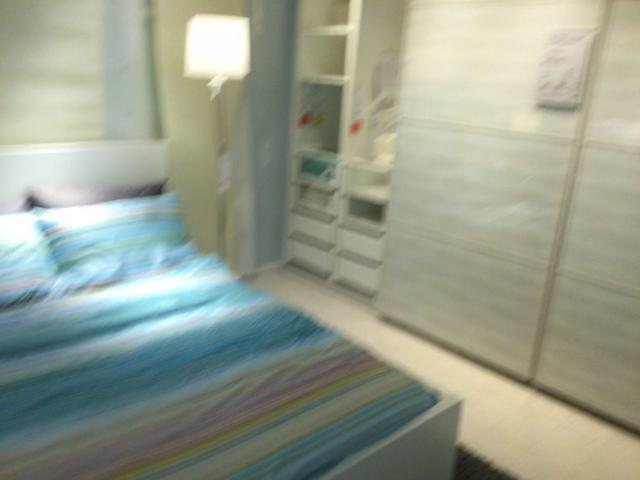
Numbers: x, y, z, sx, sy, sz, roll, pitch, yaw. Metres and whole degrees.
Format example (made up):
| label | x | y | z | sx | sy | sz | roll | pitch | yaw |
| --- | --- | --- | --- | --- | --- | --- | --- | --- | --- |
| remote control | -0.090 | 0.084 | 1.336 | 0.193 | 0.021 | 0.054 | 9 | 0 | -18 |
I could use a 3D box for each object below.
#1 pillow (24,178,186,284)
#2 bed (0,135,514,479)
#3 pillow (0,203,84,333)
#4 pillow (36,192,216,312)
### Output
| label | x | y | z | sx | sy | sz | roll | pitch | yaw |
| --- | --- | --- | --- | --- | --- | --- | --- | --- | --- |
| pillow | -1.060 | -0.070 | 2.920 | 0.700 | 0.400 | 0.250 | -11 | 20 | -38 |
| bed | -0.810 | 0.280 | 2.140 | 1.720 | 1.050 | 2.210 | -11 | 20 | -38 |
| pillow | -1.380 | 0.140 | 2.360 | 0.650 | 0.470 | 0.220 | -11 | -12 | -38 |
| pillow | -0.910 | 0.040 | 2.760 | 0.710 | 0.430 | 0.190 | -10 | -11 | -39 |
